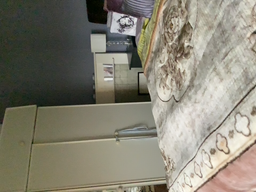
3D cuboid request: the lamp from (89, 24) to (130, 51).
[{"bbox_3d":[-0.240,-0.740,2.680,0.220,0.490,0.230,101,164,-57],"label":"lamp"}]
